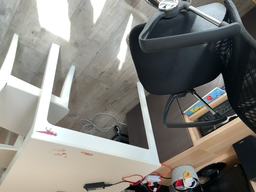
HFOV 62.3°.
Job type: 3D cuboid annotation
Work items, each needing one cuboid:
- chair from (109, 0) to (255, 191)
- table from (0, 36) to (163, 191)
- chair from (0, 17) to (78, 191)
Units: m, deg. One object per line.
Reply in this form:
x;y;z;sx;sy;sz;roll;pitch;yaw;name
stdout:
0.280;-0.190;1.040;0.570;0.990;0.630;-13;139;6;chair
-0.510;0.370;1.710;0.840;0.760;1.210;21;131;-29;table
-0.680;0.090;1.260;0.450;0.900;0.550;-33;133;26;chair
